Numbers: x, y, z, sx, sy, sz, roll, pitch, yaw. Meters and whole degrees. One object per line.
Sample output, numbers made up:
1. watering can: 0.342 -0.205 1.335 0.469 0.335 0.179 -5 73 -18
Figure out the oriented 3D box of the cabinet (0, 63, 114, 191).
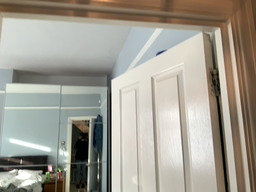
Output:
1. cabinet: -1.060 0.900 3.270 1.630 2.760 0.310 1 -12 -14
